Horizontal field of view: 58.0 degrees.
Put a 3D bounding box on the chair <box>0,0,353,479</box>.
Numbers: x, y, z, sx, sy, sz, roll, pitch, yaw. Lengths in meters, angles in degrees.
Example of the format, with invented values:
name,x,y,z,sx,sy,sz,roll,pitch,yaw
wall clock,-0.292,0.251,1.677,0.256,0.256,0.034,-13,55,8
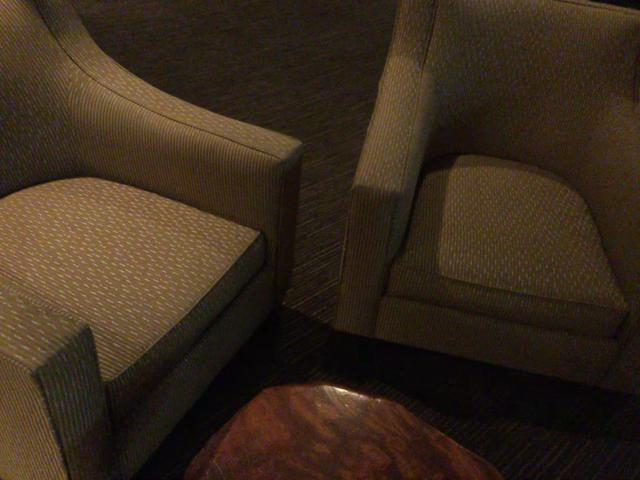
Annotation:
name,x,y,z,sx,sy,sz,roll,pitch,yaw
chair,-0.630,-0.050,1.340,1.020,0.860,1.030,18,40,17

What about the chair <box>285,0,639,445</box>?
name,x,y,z,sx,sy,sz,roll,pitch,yaw
chair,0.530,-0.180,1.670,1.020,0.880,0.980,10,38,7
